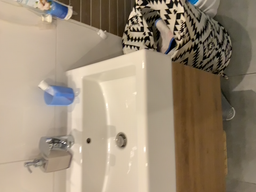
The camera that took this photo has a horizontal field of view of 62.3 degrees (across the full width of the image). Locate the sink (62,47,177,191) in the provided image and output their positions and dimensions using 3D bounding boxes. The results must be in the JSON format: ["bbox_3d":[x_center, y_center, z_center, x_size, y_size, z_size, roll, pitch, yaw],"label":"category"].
[{"bbox_3d":[-0.060,0.170,0.780,0.450,0.140,0.580,-6,82,43],"label":"sink"}]
